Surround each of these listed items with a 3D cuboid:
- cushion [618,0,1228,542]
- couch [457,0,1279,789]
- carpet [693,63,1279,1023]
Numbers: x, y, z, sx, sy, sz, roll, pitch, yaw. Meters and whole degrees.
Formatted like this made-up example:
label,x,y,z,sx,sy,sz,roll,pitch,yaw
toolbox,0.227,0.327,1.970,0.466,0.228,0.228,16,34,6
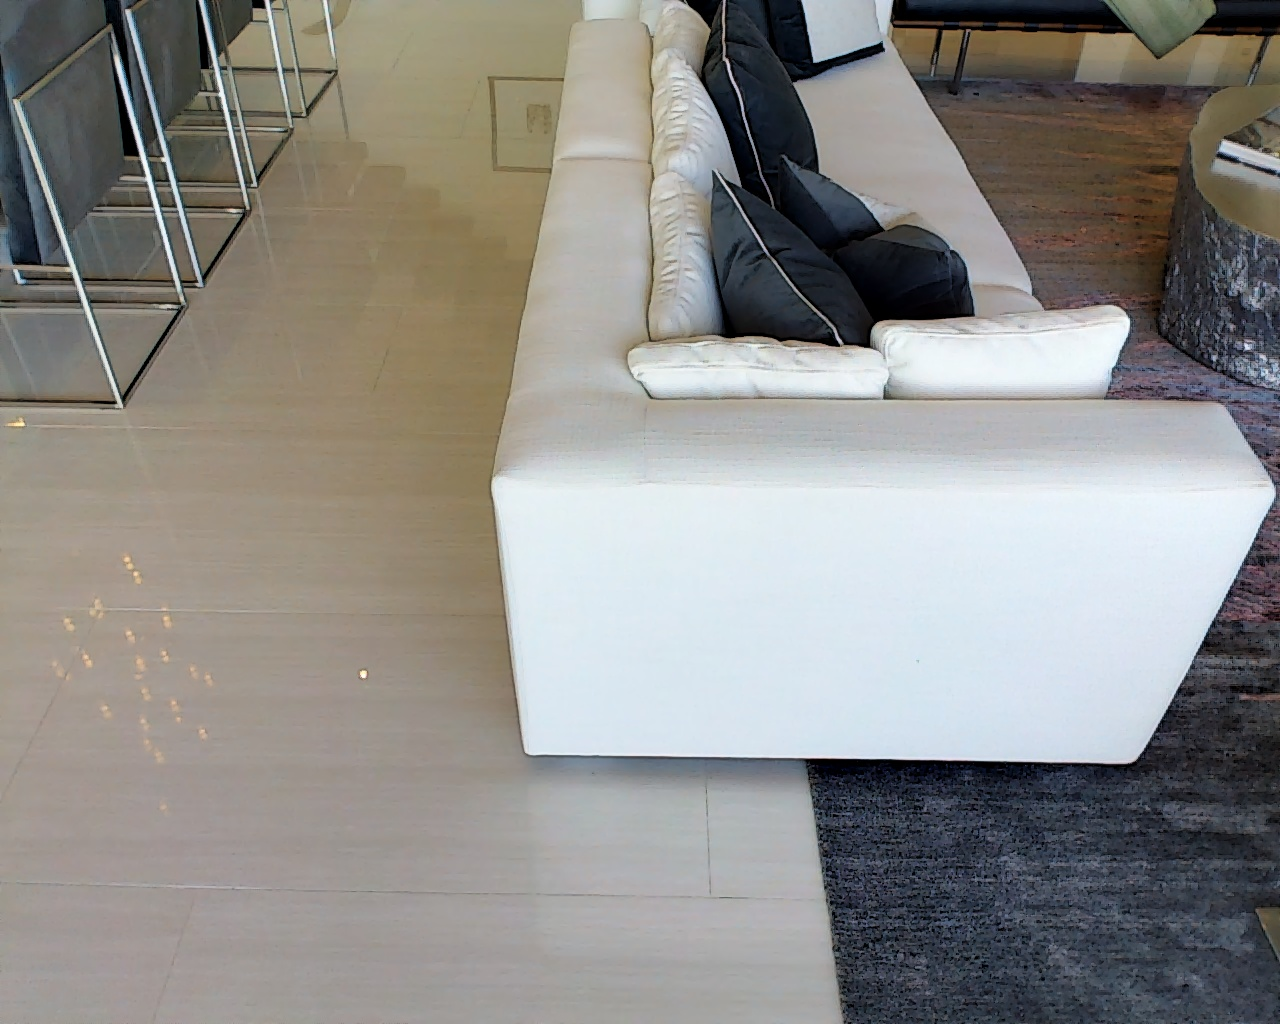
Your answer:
label,x,y,z,sx,sy,sz,roll,pitch,yaw
cushion,0.390,-0.720,2.270,0.820,0.430,1.820,1,41,0
couch,0.370,-0.820,2.790,1.180,0.700,3.110,1,41,0
carpet,1.740,-0.520,2.970,3.010,0.010,4.090,0,41,-1
